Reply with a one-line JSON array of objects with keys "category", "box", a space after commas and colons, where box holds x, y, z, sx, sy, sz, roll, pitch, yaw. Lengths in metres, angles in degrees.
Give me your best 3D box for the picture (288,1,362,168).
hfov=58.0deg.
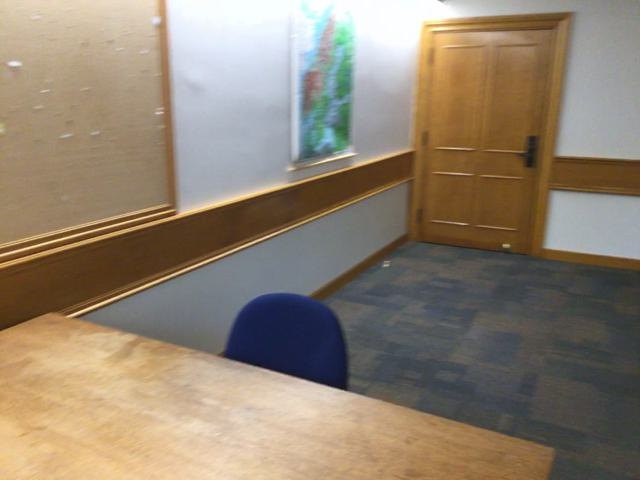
[{"category": "picture", "box": [0.050, -0.920, 3.580, 0.150, 0.910, 0.670, 3, 10, 27]}]
